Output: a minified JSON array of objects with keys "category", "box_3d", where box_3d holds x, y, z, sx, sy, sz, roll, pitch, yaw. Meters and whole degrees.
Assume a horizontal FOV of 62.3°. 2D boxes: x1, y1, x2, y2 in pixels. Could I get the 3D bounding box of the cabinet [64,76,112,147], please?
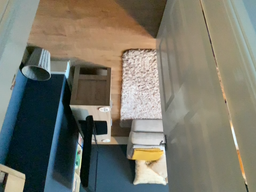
[{"category":"cabinet","box_3d":[-0.460,0.270,2.810,0.430,0.470,1.170,1,150,-2]}]
